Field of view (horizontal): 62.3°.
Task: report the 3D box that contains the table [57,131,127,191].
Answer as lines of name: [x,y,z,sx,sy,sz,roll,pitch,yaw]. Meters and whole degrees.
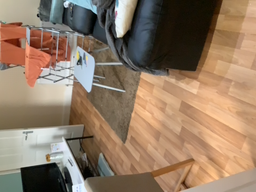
table: [-0.600,1.200,3.070,1.190,0.520,0.840,37,122,52]

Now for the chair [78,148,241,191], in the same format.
chair: [0.170,0.780,1.400,0.550,0.870,0.530,31,117,54]

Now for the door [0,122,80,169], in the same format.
door: [-1.850,0.840,3.500,0.120,2.040,0.700,40,124,51]
